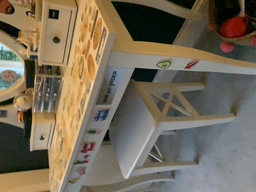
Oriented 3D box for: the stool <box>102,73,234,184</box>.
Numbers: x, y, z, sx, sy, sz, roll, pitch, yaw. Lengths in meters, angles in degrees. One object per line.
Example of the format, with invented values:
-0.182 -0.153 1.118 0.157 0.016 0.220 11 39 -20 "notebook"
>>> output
0.170 0.160 1.110 0.330 0.450 0.420 63 142 41 "stool"
